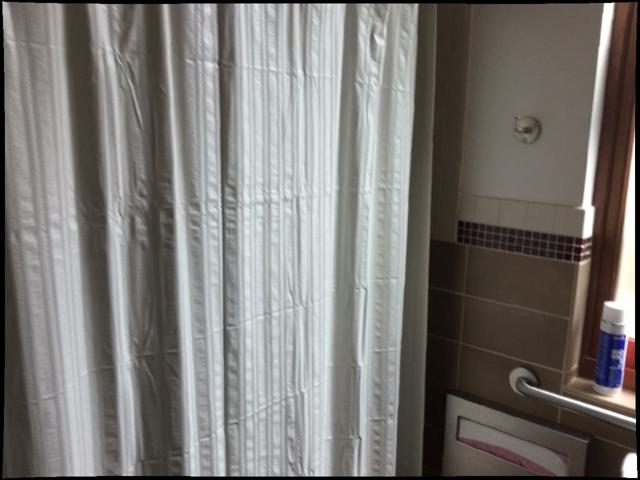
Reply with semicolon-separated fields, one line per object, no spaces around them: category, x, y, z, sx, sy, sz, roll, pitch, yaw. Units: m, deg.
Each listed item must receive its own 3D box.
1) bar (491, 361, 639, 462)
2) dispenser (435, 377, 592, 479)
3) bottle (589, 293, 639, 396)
bar;0.848;0.481;1.330;0.939;0.120;0.060;11;17;42
dispenser;0.539;0.622;1.660;0.409;0.321;0.090;11;17;42
bottle;0.778;0.271;1.510;0.080;0.231;0.110;11;17;42
